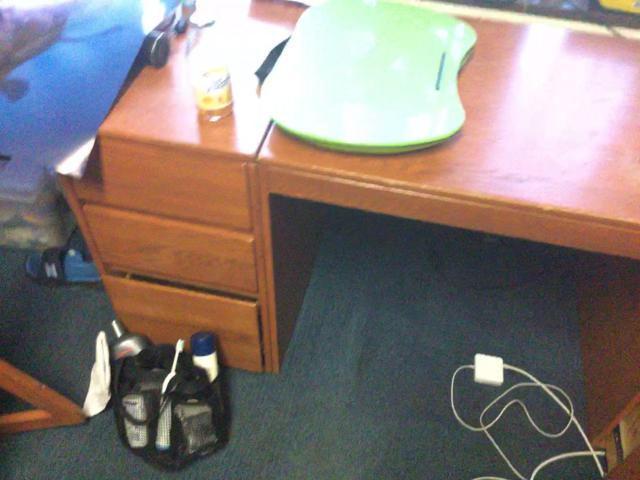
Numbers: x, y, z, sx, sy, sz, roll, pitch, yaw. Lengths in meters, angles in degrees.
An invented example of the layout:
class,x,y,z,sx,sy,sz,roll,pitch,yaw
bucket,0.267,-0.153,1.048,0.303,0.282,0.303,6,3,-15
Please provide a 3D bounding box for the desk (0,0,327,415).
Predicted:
class,x,y,z,sx,sy,sz,roll,pitch,yaw
desk,-0.660,-0.260,1.510,1.180,0.830,0.850,11,47,9

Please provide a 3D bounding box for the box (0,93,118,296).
class,x,y,z,sx,sy,sz,roll,pitch,yaw
box,-0.840,-0.140,1.680,0.230,0.350,0.450,11,47,9
